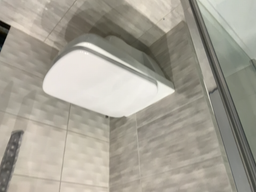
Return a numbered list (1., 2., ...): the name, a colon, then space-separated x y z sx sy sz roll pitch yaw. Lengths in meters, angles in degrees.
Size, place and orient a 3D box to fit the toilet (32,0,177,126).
1. toilet: -0.100 -0.160 1.050 0.520 0.390 0.380 25 138 -35
